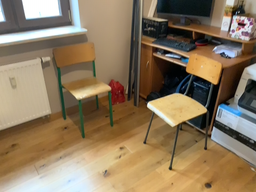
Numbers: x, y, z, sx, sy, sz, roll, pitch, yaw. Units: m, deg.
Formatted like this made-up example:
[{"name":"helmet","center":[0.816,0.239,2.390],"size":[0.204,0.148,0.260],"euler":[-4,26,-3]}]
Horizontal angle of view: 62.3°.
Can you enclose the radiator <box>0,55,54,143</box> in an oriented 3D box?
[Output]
[{"name":"radiator","center":[-1.030,0.030,2.000],"size":[0.520,0.730,0.120],"euler":[-20,35,-32]}]
